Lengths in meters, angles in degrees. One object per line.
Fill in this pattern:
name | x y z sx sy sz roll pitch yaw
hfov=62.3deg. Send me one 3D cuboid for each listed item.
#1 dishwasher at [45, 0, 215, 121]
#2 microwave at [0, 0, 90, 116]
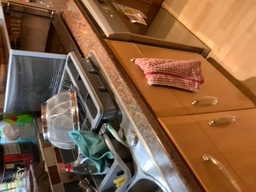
dishwasher | -0.020 -0.290 1.550 0.580 0.900 0.650 59 134 35
microwave | -0.510 -0.210 1.150 0.490 0.370 0.360 59 135 34
